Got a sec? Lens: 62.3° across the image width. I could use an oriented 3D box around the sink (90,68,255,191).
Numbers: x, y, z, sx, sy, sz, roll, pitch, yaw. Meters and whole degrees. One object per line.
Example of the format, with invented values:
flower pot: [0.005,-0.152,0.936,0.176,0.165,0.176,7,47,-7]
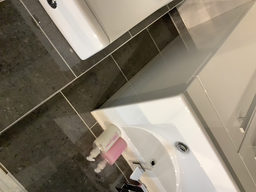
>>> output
sink: [0.190,0.240,0.810,0.460,0.150,0.610,-12,116,51]
